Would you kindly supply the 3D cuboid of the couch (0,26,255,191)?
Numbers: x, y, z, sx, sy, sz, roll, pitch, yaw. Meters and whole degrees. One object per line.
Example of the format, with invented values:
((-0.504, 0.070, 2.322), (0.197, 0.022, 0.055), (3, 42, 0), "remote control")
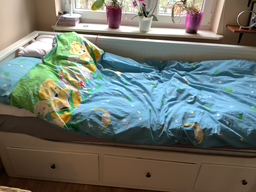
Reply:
((0.180, 0.070, 1.730), (2.190, 0.850, 1.020), (5, 31, 1), "couch")

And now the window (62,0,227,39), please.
((0.170, -1.240, 1.720), (1.460, 1.420, 0.130), (4, 31, -1), "window")

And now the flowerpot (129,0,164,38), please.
((0.170, -0.820, 2.000), (0.280, 0.480, 0.160), (3, 31, -3), "flowerpot")

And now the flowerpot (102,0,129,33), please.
((-0.110, -0.830, 1.950), (0.230, 0.430, 0.220), (4, 31, 0), "flowerpot")
